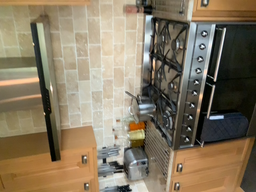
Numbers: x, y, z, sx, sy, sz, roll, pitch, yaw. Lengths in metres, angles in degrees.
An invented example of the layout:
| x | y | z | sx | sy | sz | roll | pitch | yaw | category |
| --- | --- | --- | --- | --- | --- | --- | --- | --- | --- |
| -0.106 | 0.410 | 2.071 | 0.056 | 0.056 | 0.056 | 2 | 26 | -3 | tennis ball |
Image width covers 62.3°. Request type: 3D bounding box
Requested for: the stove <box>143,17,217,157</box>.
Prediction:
| x | y | z | sx | sy | sz | roll | pitch | yaw | category |
| --- | --- | --- | --- | --- | --- | --- | --- | --- | --- |
| 0.330 | -0.100 | 1.650 | 0.610 | 0.170 | 0.920 | -126 | 34 | -61 | stove |

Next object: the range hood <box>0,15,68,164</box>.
| x | y | z | sx | sy | sz | roll | pitch | yaw | category |
| --- | --- | --- | --- | --- | --- | --- | --- | --- | --- |
| -0.810 | -0.080 | 1.540 | 0.660 | 0.620 | 0.850 | -120 | 29 | -55 | range hood |

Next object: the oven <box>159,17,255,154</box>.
| x | y | z | sx | sy | sz | roll | pitch | yaw | category |
| --- | --- | --- | --- | --- | --- | --- | --- | --- | --- |
| 0.760 | -0.140 | 1.770 | 0.610 | 0.730 | 0.920 | -126 | 34 | -61 | oven |
